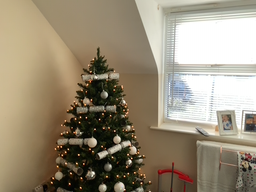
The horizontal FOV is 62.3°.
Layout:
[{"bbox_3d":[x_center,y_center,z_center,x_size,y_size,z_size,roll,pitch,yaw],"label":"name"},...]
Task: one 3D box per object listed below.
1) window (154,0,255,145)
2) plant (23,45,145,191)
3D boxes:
[{"bbox_3d":[1.130,-0.200,1.780,1.840,1.260,0.060,4,9,23],"label":"window"},{"bbox_3d":[-0.310,0.450,1.820,0.710,1.660,0.650,4,9,24],"label":"plant"}]
